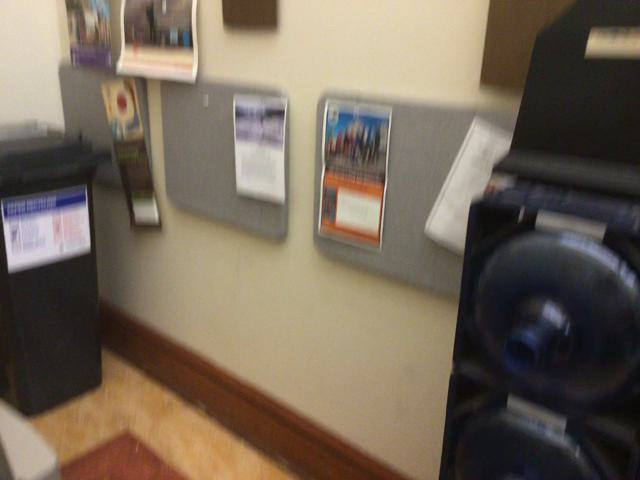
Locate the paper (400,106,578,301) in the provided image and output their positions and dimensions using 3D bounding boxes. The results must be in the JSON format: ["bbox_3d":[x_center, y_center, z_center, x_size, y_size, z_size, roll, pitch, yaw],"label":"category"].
[{"bbox_3d":[0.350,-0.080,1.270,0.280,0.330,0.030,38,33,29],"label":"paper"}]

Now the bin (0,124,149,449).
[{"bbox_3d":[-1.040,0.120,2.190,0.450,1.050,0.540,14,20,39],"label":"bin"}]

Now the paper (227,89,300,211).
[{"bbox_3d":[-0.170,-0.270,1.700,0.260,0.330,0.040,14,20,39],"label":"paper"}]
